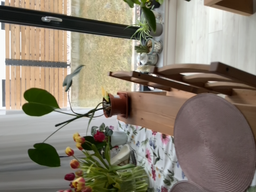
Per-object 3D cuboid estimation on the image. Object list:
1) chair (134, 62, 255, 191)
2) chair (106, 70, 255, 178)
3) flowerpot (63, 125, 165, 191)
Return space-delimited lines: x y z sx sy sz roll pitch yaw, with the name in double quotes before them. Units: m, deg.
"chair" 0.540 0.150 0.970 0.440 0.920 0.510 6 96 62
"chair" 0.350 0.120 1.390 0.440 0.880 0.510 6 96 62
"flowerpot" -0.120 0.430 1.240 0.500 0.410 0.350 22 110 61
